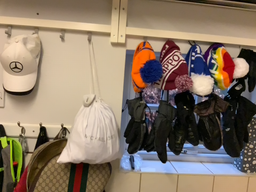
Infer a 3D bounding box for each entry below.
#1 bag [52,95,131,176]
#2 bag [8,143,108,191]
[{"bbox_3d":[-0.160,0.160,0.950,0.290,0.300,0.230,4,4,-9],"label":"bag"},{"bbox_3d":[-0.300,0.450,0.950,0.390,0.430,0.150,4,4,-8],"label":"bag"}]
